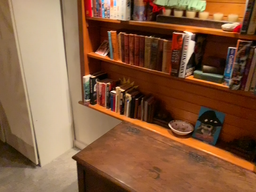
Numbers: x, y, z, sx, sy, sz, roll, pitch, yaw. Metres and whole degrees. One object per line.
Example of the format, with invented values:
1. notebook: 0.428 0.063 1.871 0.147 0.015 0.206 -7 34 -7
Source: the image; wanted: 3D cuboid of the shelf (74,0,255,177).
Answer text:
1. shelf: 0.430 -0.160 1.180 1.840 0.990 0.200 18 28 31
